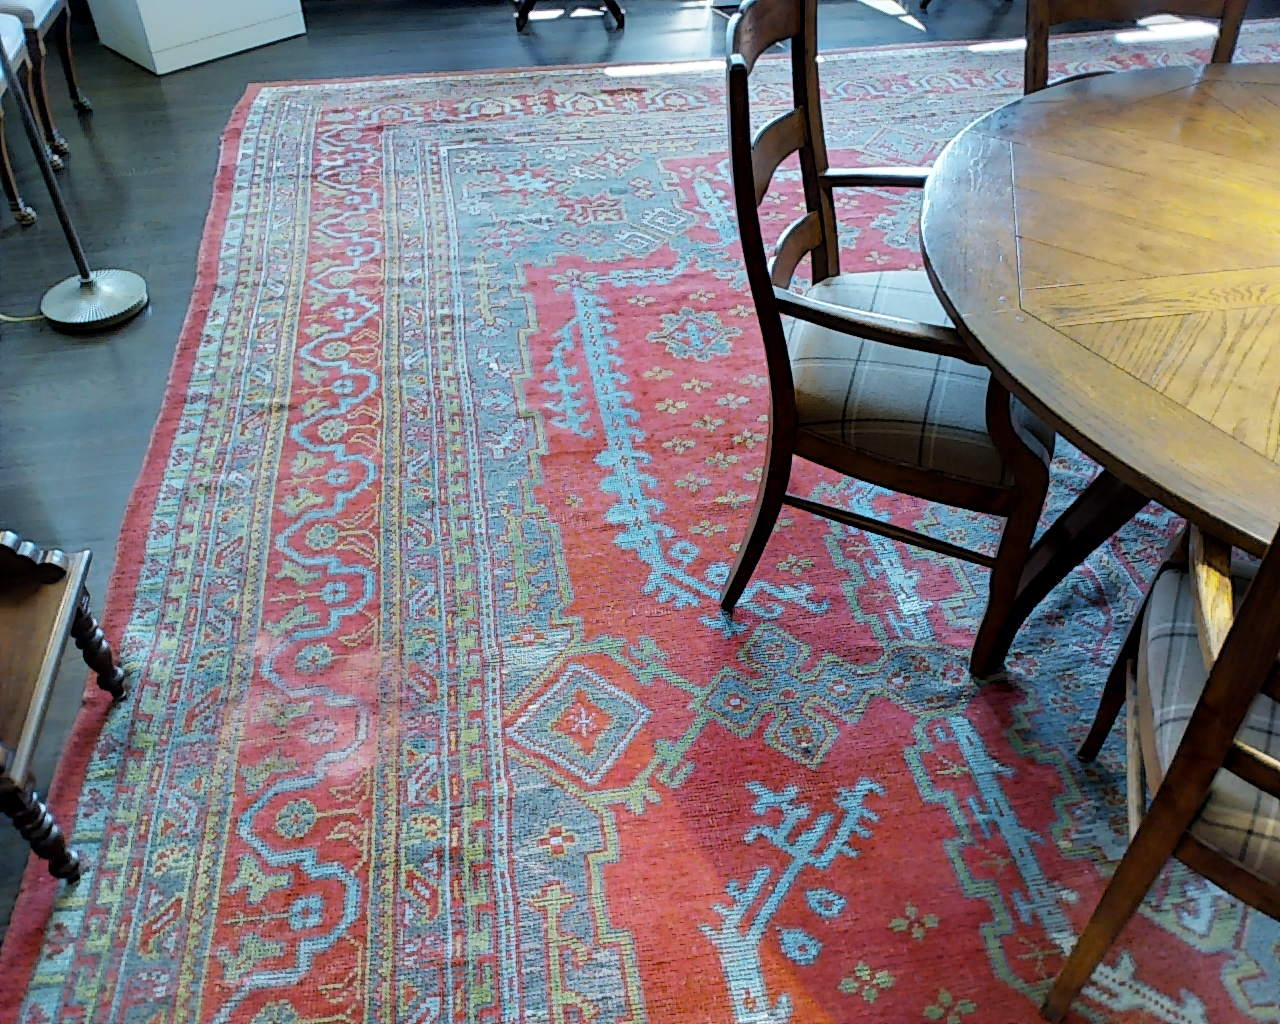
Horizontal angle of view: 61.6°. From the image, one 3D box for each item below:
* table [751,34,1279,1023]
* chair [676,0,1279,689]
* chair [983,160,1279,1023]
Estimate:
[{"bbox_3d":[1.250,-0.130,1.800,1.700,0.730,1.640,-7,43,-8],"label":"table"},{"bbox_3d":[0.520,-0.340,1.830,0.770,1.030,0.620,10,43,11],"label":"chair"},{"bbox_3d":[0.880,0.200,1.260,0.590,1.010,0.660,18,45,19],"label":"chair"}]
